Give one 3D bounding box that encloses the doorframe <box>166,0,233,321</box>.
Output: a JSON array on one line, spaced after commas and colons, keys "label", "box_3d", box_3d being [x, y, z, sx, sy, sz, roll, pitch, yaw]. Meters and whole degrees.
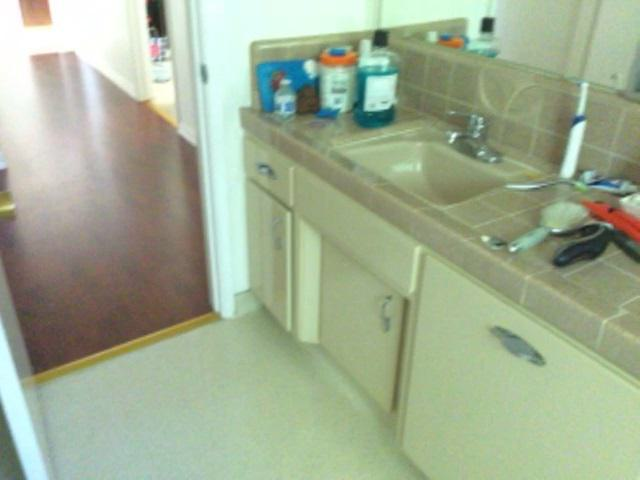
[{"label": "doorframe", "box_3d": [-0.400, -0.250, 1.960, 0.090, 1.150, 0.180, -14, 32, -26]}]
